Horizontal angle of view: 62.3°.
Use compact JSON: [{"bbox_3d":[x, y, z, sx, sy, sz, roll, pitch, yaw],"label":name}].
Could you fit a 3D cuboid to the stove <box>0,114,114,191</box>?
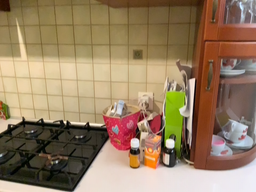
[{"bbox_3d":[-0.430,0.220,1.040,0.590,0.030,0.550,4,16,11],"label":"stove"}]
